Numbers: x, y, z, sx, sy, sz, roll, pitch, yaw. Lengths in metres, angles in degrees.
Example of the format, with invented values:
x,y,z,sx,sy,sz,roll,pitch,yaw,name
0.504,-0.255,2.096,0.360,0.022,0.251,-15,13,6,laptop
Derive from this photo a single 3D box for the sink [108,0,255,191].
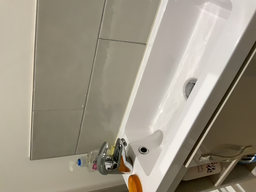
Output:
x,y,z,sx,sy,sz,roll,pitch,yaw,name
0.110,0.020,0.550,0.240,0.130,0.620,55,137,46,sink
